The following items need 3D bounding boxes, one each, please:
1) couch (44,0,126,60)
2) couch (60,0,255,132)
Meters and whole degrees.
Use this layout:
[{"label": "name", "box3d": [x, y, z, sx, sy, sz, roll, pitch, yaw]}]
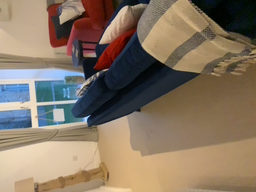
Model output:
[{"label": "couch", "box3d": [-0.750, -1.430, 3.230, 1.040, 0.830, 1.380, -36, 61, 58]}, {"label": "couch", "box3d": [0.110, -0.510, 1.730, 2.250, 0.830, 1.120, -36, 61, 58]}]
